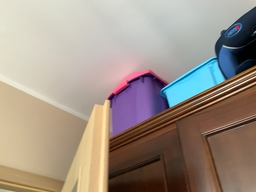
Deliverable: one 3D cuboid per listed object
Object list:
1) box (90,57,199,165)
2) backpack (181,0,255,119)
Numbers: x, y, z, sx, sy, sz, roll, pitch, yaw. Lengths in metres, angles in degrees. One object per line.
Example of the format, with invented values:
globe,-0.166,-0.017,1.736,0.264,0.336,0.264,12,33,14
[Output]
box,0.080,0.120,1.260,0.390,0.370,0.440,30,-49,-33
backpack,0.520,-0.210,0.850,0.470,0.360,0.330,30,-49,-33
